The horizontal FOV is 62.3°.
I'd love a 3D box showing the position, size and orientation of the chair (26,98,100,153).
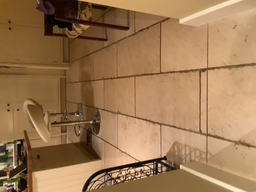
[{"bbox_3d":[-0.900,0.360,2.880,0.530,0.850,0.440,50,133,48],"label":"chair"}]
